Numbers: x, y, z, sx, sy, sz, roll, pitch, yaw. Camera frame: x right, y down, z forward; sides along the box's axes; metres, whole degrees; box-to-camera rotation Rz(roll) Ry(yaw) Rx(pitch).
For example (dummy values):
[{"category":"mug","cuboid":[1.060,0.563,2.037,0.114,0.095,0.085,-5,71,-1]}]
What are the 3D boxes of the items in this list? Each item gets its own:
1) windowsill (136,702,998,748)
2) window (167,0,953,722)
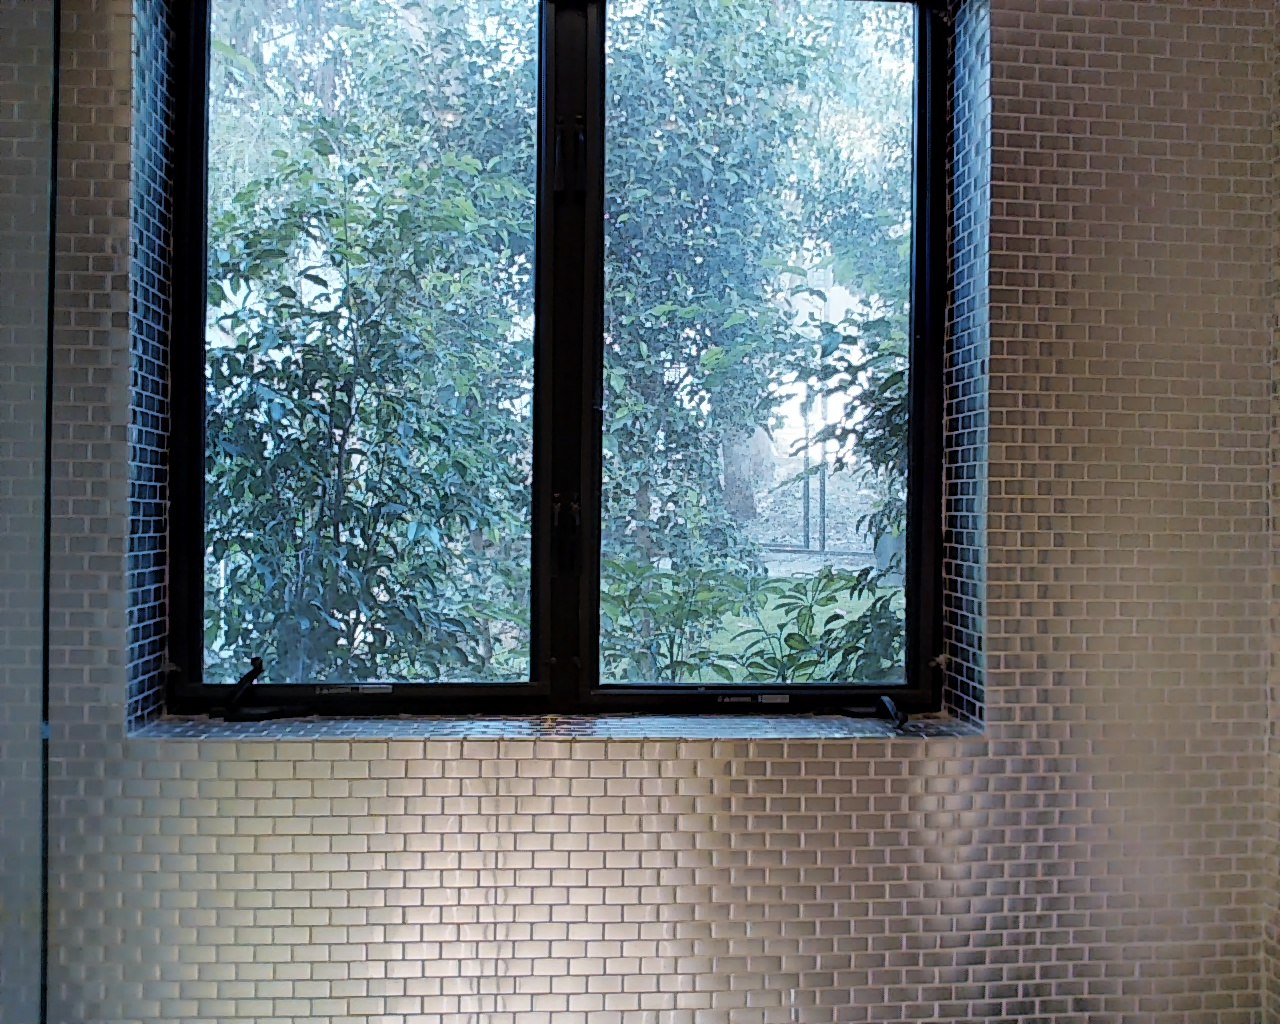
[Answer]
[{"category":"windowsill","cuboid":[-0.090,0.310,1.580,1.180,0.020,0.210,1,0,-5]},{"category":"window","cuboid":[-0.100,-0.280,1.650,1.170,1.180,0.060,1,0,-6]}]
